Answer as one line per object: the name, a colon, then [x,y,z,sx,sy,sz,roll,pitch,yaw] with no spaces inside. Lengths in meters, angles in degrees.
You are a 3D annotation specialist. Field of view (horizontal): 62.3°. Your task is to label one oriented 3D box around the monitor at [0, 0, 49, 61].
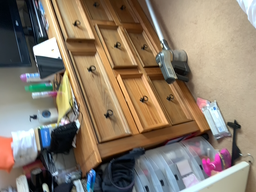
monitor: [-0.940,-0.550,1.470,0.030,0.610,0.750,-54,51,52]
